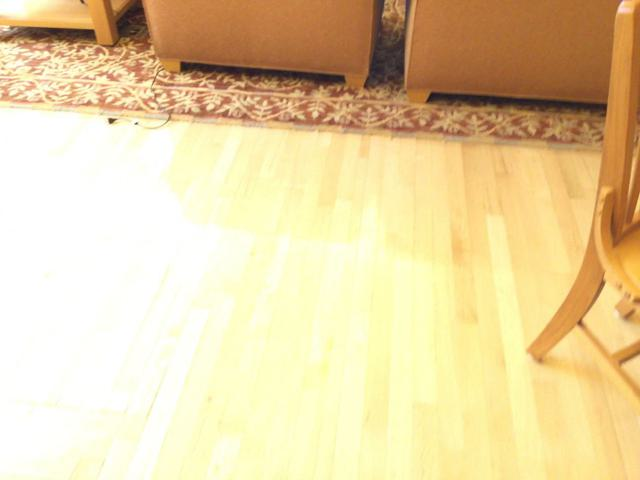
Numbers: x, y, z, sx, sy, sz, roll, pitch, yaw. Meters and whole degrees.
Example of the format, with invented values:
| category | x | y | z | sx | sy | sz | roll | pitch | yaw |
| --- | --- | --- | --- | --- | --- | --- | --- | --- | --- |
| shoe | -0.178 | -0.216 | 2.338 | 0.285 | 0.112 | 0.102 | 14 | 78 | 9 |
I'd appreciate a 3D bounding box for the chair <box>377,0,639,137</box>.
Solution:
| category | x | y | z | sx | sy | sz | roll | pitch | yaw |
| --- | --- | --- | --- | --- | --- | --- | --- | --- | --- |
| chair | 0.810 | -1.030 | 2.210 | 1.090 | 0.870 | 0.890 | 4 | 41 | 5 |
